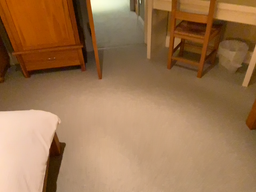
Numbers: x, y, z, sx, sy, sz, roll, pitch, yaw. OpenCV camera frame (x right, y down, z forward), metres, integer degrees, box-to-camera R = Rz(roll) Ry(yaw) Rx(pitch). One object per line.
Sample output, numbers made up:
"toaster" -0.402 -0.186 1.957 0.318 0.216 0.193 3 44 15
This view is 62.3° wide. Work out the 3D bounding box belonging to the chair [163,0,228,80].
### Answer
"chair" 0.730 -0.720 2.350 0.460 0.860 0.470 22 45 27
